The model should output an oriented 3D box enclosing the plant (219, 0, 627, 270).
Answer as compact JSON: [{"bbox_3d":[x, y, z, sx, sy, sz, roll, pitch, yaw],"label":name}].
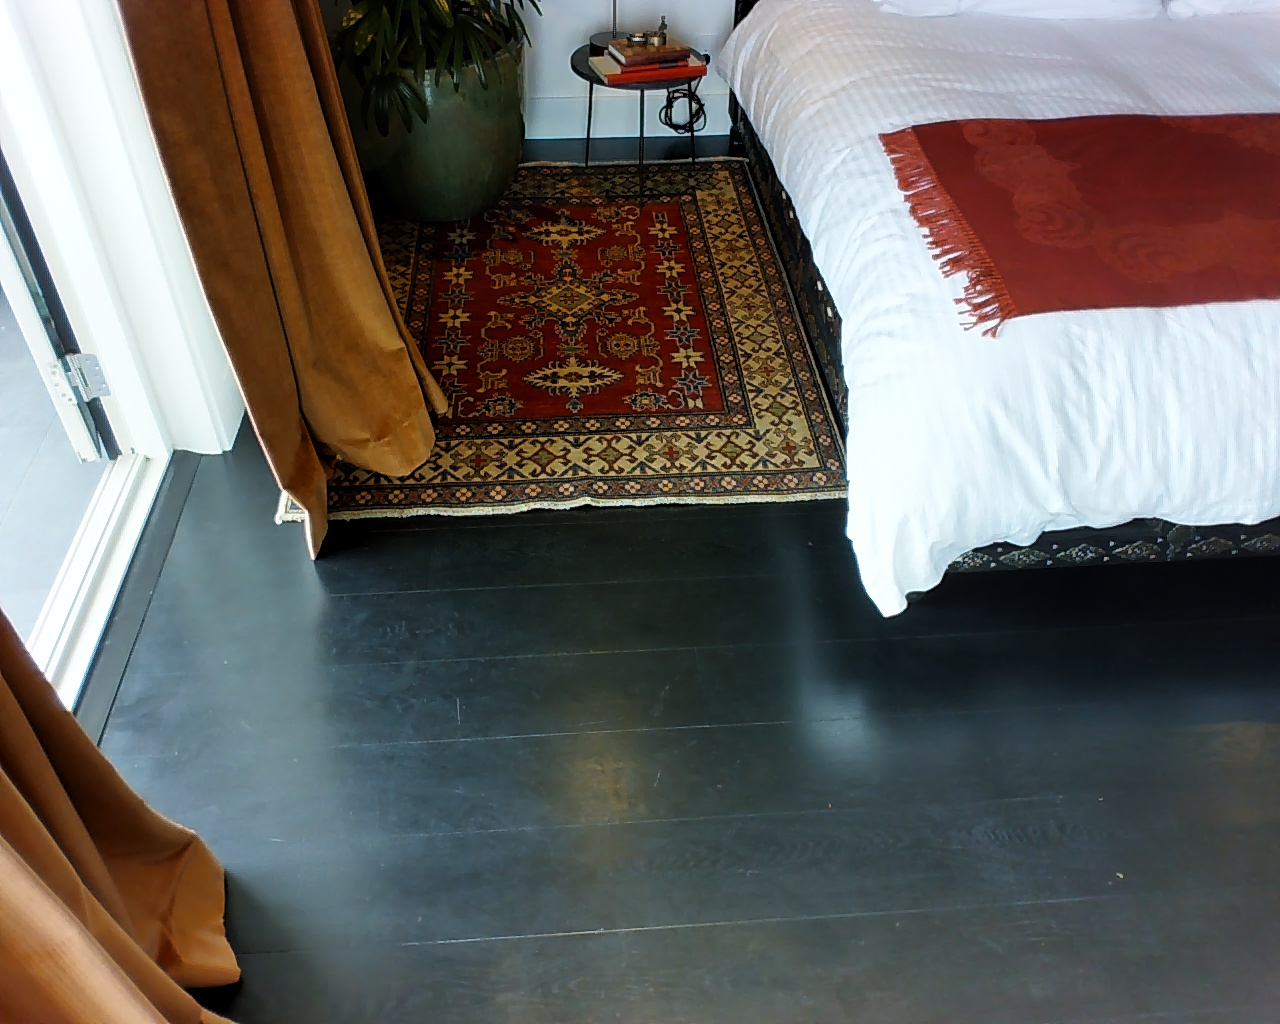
[{"bbox_3d":[-0.550,-1.550,2.900,0.960,1.460,0.910,-3,42,-3],"label":"plant"}]

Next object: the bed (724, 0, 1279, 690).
[{"bbox_3d":[1.450,-0.920,2.640,2.120,1.000,2.470,-3,42,-3],"label":"bed"}]
